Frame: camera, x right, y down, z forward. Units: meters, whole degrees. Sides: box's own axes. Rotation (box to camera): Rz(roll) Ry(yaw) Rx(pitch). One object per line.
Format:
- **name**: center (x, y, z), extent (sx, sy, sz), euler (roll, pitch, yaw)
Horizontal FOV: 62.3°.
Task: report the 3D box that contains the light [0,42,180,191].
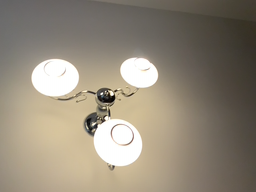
- **light**: center (-0.170, 0.080, 0.890), extent (0.360, 0.540, 0.440), euler (110, -27, -45)
